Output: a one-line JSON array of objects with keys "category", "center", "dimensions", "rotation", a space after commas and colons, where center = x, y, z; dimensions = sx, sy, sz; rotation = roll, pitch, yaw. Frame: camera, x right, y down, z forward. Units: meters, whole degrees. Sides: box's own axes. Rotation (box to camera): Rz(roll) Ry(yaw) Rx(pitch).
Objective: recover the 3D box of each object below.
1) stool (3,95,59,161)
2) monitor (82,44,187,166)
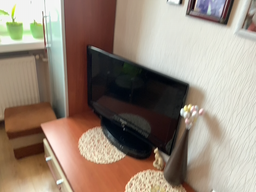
[{"category": "stool", "center": [-0.880, 0.270, 1.940], "dimensions": [0.390, 0.360, 0.400], "rotation": [-8, 33, -25]}, {"category": "monitor", "center": [-0.040, 0.040, 1.480], "dimensions": [0.820, 0.590, 0.040], "rotation": [27, 35, 31]}]
